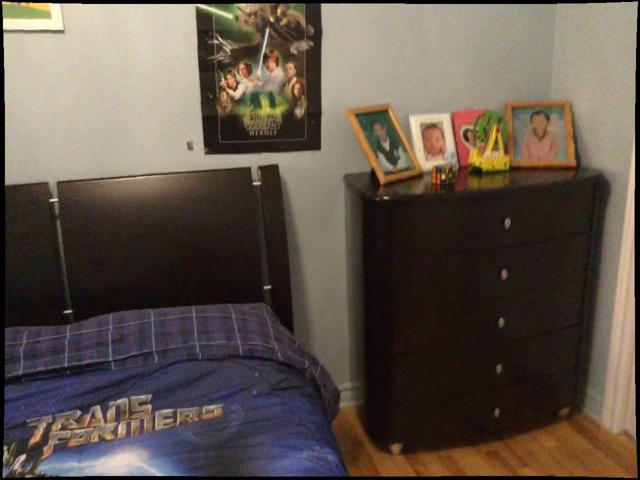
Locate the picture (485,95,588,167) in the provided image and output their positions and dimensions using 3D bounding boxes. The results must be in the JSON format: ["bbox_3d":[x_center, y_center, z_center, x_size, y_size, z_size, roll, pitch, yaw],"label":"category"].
[{"bbox_3d":[0.809,-0.420,2.190,0.260,0.220,0.240,-8,19,-14],"label":"picture"}]

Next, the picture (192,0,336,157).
[{"bbox_3d":[-0.180,-0.581,1.970,0.450,0.550,0.060,-8,19,-14],"label":"picture"}]

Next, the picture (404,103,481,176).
[{"bbox_3d":[0.440,-0.370,2.110,0.200,0.220,0.200,-8,19,-14],"label":"picture"}]

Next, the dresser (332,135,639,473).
[{"bbox_3d":[0.569,0.190,2.160,0.909,1.021,0.480,-8,19,-14],"label":"dresser"}]

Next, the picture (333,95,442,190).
[{"bbox_3d":[0.230,-0.350,2.020,0.290,0.270,0.270,-8,19,-14],"label":"picture"}]
